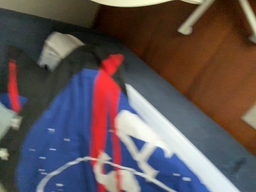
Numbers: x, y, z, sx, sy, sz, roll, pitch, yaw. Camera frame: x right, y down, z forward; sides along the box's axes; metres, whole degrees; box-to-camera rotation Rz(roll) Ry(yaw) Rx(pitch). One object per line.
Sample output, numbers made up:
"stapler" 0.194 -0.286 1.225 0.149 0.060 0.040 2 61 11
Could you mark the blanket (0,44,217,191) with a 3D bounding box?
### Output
"blanket" -0.150 0.460 0.800 1.060 0.270 0.820 47 121 28
